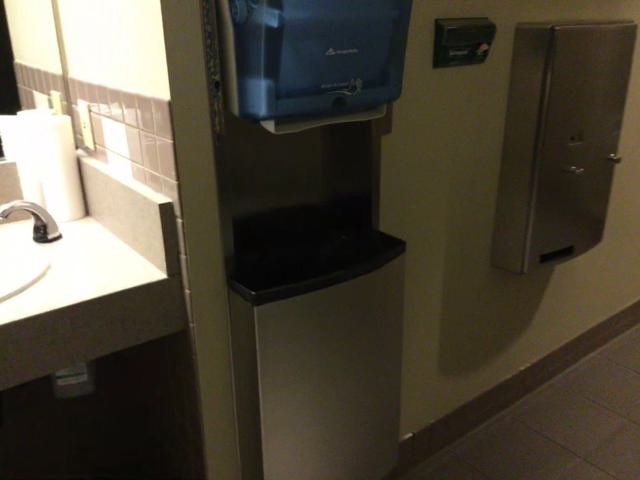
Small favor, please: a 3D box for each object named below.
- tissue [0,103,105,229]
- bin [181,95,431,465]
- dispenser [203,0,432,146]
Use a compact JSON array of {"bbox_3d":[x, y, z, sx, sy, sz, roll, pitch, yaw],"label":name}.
[{"bbox_3d":[-0.700,-0.200,1.490,0.170,0.270,0.230,-17,23,-32],"label":"tissue"},{"bbox_3d":[0.000,0.060,1.330,0.470,0.710,0.230,-17,23,-32],"label":"bin"},{"bbox_3d":[0.000,-0.430,1.080,0.370,0.430,0.210,-17,23,-32],"label":"dispenser"}]
